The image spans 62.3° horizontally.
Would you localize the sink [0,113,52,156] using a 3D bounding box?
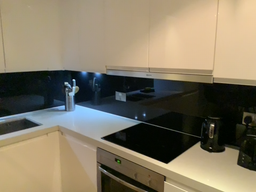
[{"bbox_3d":[-1.090,0.340,1.940,0.430,0.190,0.590,9,14,40],"label":"sink"}]
